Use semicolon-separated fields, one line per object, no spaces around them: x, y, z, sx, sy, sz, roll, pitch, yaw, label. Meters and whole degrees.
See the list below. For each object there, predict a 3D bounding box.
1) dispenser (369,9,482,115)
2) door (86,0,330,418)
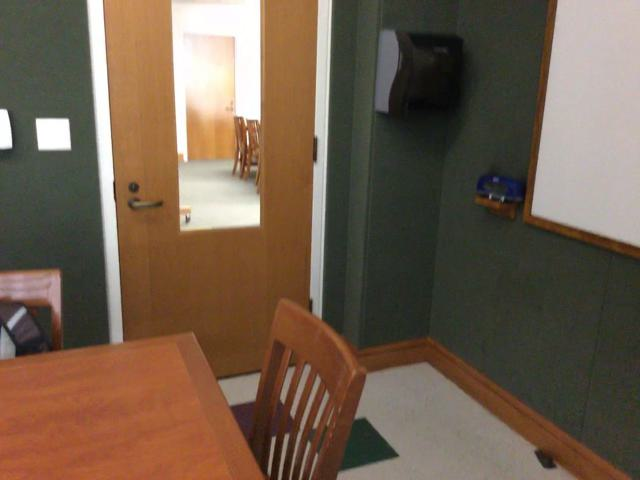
0.450;-0.760;2.510;0.370;0.400;0.250;-4;16;-25;dispenser
-0.470;-0.330;2.580;0.990;2.220;0.160;-4;16;-25;door
